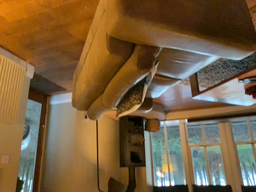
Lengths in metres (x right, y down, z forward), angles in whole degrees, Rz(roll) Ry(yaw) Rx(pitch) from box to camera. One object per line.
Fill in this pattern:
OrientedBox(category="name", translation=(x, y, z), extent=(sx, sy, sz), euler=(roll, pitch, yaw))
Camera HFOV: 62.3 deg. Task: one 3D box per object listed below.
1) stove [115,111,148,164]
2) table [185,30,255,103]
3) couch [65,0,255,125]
OrientedBox(category="stove", translation=(0.050, 0.920, 4.650), extent=(0.550, 1.080, 0.450), euler=(6, 160, -24))
OrientedBox(category="table", translation=(1.630, -0.290, 2.840), extent=(1.260, 0.390, 1.030), euler=(6, 160, -23))
OrientedBox(category="couch", translation=(0.100, -0.280, 2.090), extent=(1.150, 0.780, 1.680), euler=(6, 160, -22))
